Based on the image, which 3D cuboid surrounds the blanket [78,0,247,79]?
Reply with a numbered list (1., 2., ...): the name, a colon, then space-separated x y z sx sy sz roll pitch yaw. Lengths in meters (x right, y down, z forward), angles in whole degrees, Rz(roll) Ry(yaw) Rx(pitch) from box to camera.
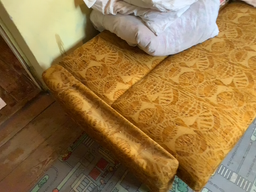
1. blanket: 0.240 -0.690 1.300 0.760 0.460 0.830 35 65 25
